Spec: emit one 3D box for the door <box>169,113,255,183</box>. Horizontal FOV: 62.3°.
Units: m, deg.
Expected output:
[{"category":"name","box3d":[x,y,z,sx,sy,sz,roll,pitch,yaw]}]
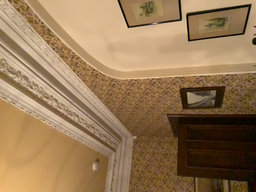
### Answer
[{"category":"door","box3d":[1.720,0.710,3.020,0.160,2.190,0.960,64,-150,-54]}]
